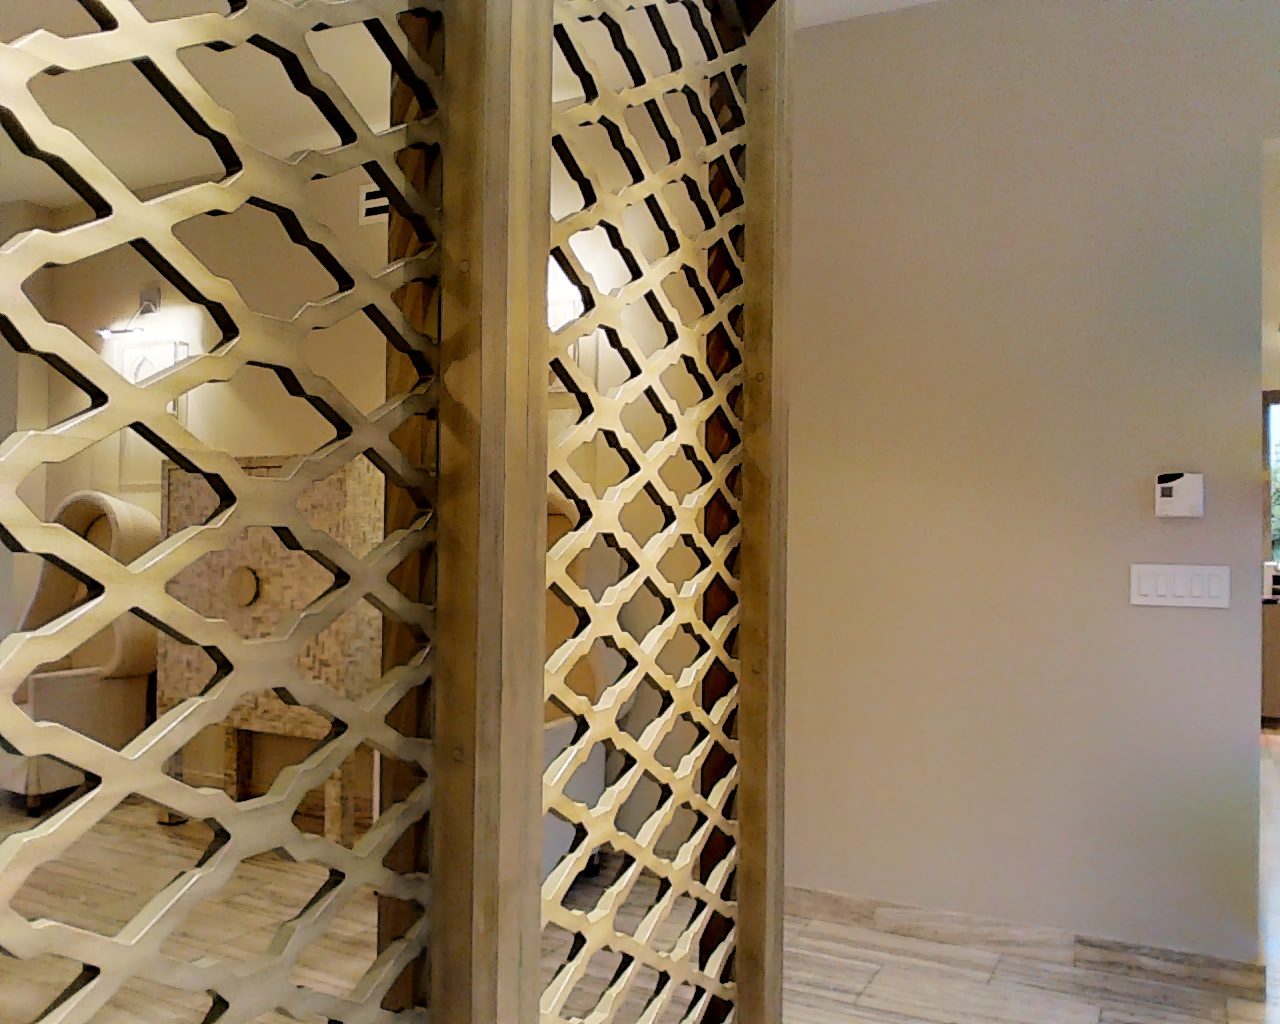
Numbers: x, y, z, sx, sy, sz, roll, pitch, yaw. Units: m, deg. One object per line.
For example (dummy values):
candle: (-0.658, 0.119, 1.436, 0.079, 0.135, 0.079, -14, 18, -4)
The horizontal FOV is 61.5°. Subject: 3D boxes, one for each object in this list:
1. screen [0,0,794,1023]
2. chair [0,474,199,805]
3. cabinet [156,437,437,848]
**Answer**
screen: (-0.520, -0.240, 0.980, 0.150, 3.040, 3.280, 0, -1, 29)
chair: (-2.760, 0.560, 5.230, 0.840, 1.440, 0.750, 0, -1, 29)
cabinet: (-1.510, 0.510, 4.710, 1.130, 1.610, 0.500, 0, -1, 29)
